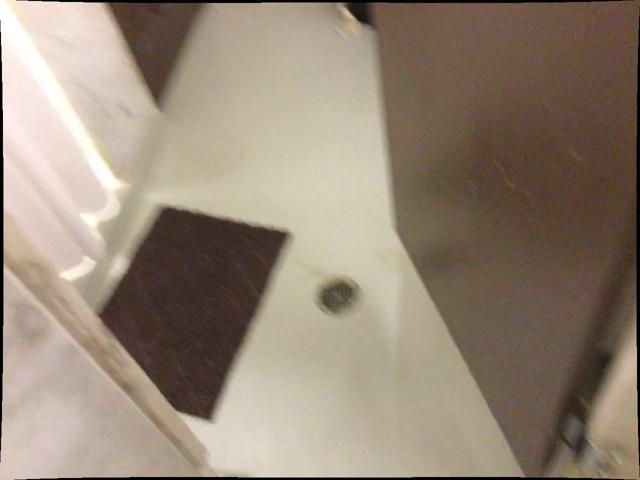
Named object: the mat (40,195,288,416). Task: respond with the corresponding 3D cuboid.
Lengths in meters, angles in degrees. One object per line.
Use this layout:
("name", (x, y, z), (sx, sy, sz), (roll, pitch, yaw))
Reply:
("mat", (-0.440, 0.150, 1.710), (0.490, 0.050, 0.640), (10, 54, 19))
